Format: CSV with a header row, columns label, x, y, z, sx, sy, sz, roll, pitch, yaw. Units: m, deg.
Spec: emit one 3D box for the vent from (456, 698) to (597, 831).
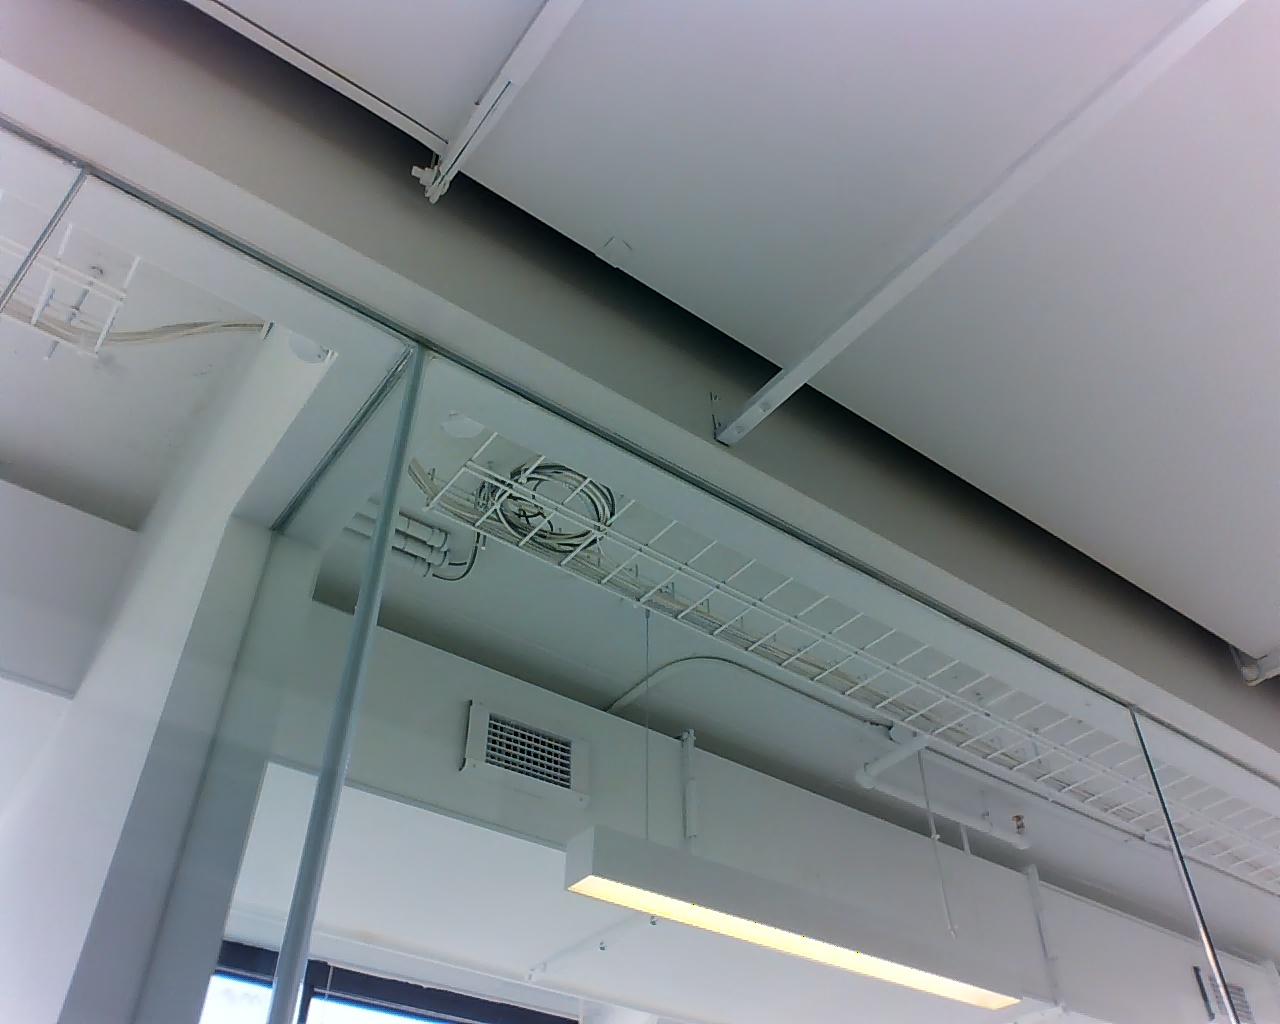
label,x,y,z,sx,sy,sz,roll,pitch,yaw
vent,-0.260,0.600,2.540,0.360,0.220,0.020,27,-48,-26
